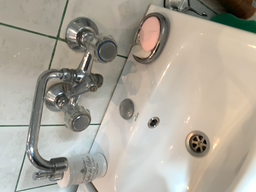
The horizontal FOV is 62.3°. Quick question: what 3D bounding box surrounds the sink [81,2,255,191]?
[{"bbox_3d":[0.120,0.100,0.500,0.380,0.160,0.510,39,114,41],"label":"sink"}]
